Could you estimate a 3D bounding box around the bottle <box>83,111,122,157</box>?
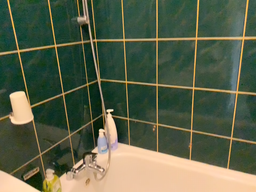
[{"bbox_3d":[-0.160,0.240,1.400,0.150,0.200,0.220,8,21,26],"label":"bottle"}]
